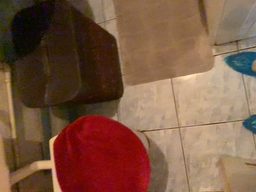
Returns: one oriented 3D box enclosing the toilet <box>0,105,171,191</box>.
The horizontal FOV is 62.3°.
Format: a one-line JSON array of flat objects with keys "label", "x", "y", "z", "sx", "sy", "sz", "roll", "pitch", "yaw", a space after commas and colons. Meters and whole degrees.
[{"label": "toilet", "x": -0.230, "y": 0.340, "z": 0.880, "sx": 0.640, "sy": 0.890, "sz": 0.490, "roll": -9, "pitch": 87, "yaw": 18}]
